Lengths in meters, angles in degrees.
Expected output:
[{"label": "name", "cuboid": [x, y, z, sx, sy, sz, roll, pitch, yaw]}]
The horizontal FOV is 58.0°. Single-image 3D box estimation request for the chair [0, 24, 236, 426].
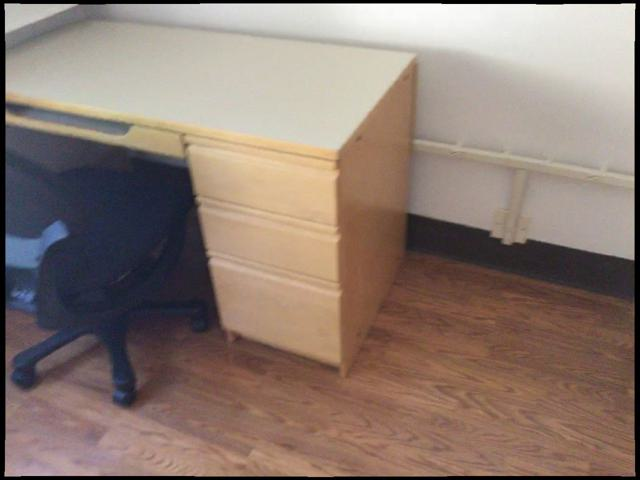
[{"label": "chair", "cuboid": [-0.669, -0.050, 1.630, 0.509, 0.861, 0.600, 14, 42, 20]}]
